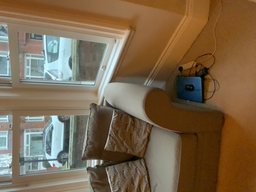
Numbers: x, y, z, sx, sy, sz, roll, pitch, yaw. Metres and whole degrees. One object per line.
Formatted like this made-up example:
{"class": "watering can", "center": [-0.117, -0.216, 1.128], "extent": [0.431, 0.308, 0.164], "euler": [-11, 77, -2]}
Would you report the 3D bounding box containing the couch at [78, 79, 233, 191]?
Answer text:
{"class": "couch", "center": [0.120, 0.670, 2.020], "extent": [1.060, 0.940, 1.570], "euler": [-164, 76, -65]}
